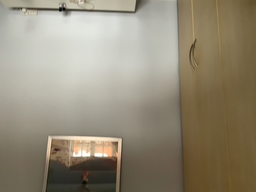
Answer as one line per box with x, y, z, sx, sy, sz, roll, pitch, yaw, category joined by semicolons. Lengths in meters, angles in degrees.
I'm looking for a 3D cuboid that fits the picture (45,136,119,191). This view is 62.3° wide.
-0.370;0.590;1.760;0.580;0.500;0.030;1;168;-3;picture
